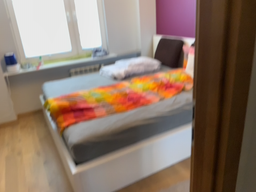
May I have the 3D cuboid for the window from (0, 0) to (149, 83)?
[{"bbox_3d":[-0.790,-1.220,3.330,2.400,1.590,0.180,-14,24,-21],"label":"window"}]

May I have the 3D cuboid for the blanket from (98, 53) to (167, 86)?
[{"bbox_3d":[0.070,-0.430,3.180,0.870,0.230,0.550,-16,25,-26],"label":"blanket"}]
